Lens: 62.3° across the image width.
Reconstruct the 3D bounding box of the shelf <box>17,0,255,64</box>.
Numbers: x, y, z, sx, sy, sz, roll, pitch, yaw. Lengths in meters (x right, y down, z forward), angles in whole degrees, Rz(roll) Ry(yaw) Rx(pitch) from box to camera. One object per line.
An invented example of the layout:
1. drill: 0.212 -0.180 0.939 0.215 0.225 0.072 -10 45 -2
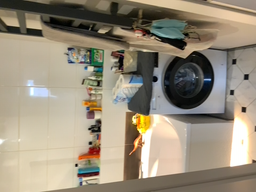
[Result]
1. shelf: 0.070 -0.370 1.320 0.550 1.300 0.200 -168 80 -67
